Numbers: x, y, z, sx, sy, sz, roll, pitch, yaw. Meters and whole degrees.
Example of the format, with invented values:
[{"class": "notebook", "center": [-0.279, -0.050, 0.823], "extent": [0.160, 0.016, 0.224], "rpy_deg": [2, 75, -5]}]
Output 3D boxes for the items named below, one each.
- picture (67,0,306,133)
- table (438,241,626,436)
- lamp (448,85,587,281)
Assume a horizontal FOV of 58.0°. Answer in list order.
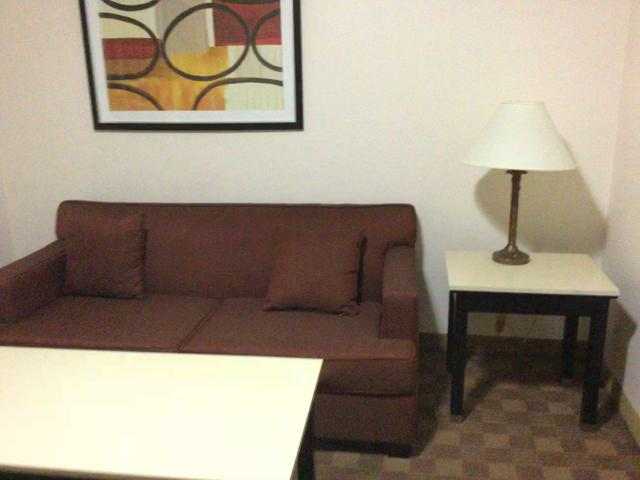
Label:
[{"class": "picture", "center": [-0.620, -0.920, 2.700], "extent": [1.070, 0.790, 0.140], "rpy_deg": [0, 14, 8]}, {"class": "table", "center": [0.850, 0.380, 2.500], "extent": [0.630, 0.620, 0.620], "rpy_deg": [0, 14, 9]}, {"class": "lamp", "center": [0.760, -0.240, 2.330], "extent": [0.440, 0.720, 0.380], "rpy_deg": [0, 14, 8]}]
